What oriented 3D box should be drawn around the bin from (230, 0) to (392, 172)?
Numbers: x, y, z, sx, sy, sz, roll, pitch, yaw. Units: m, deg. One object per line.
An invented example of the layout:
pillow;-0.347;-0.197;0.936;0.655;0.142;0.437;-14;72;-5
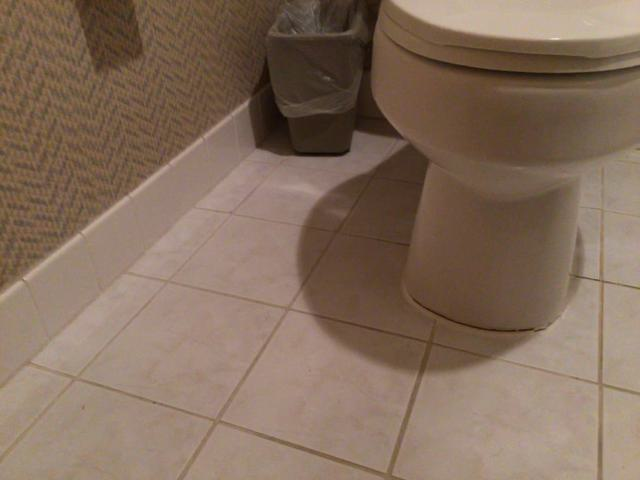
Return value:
bin;0.000;-0.330;1.180;0.230;0.270;0.260;9;35;20
